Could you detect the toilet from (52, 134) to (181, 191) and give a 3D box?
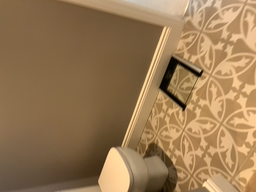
[{"bbox_3d":[-0.110,0.680,1.620,0.390,0.780,0.600,47,127,48],"label":"toilet"}]
